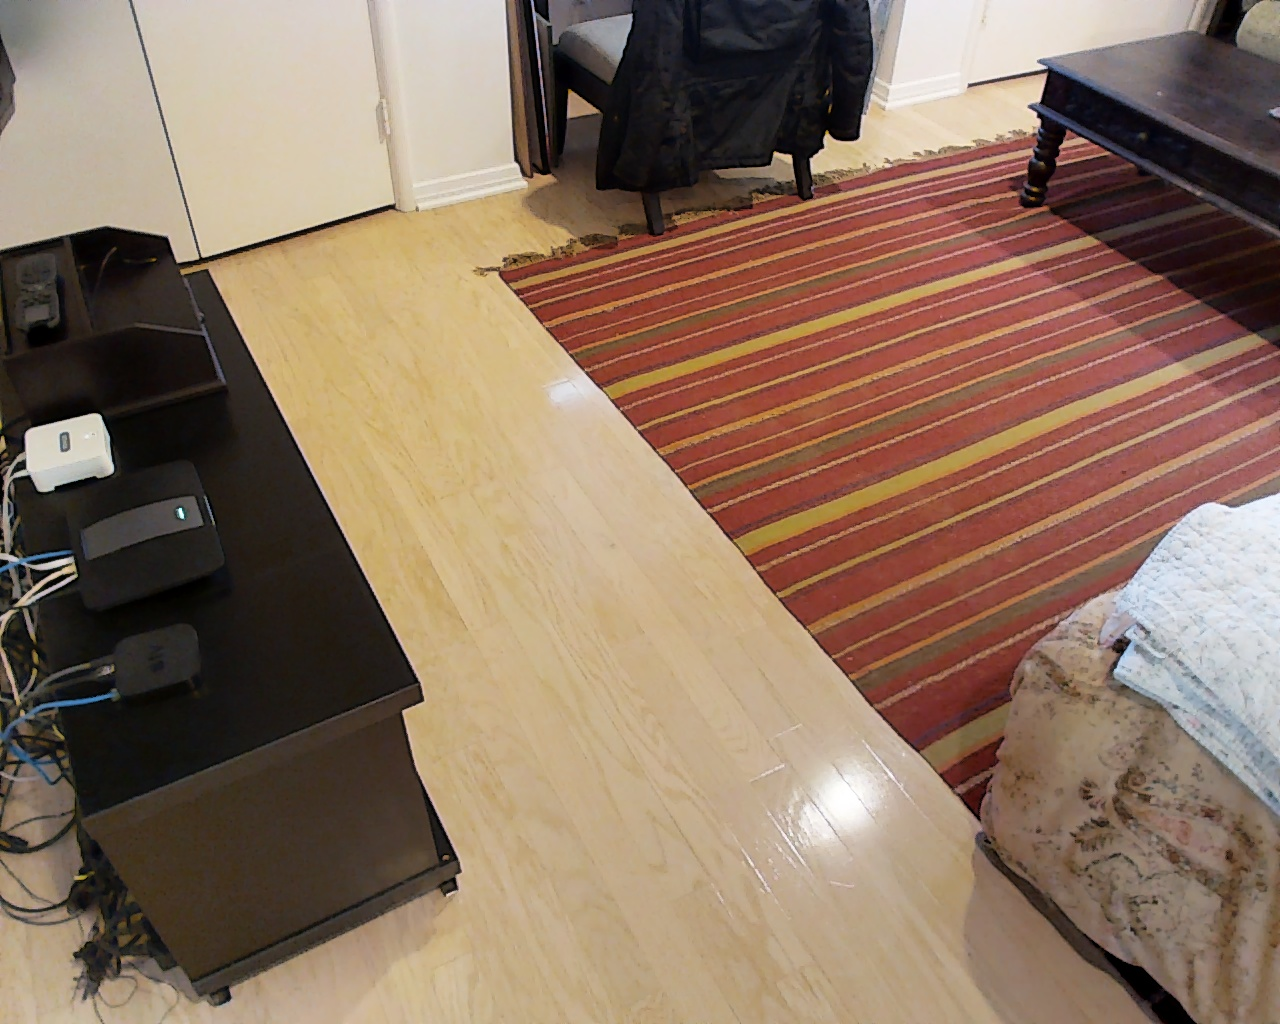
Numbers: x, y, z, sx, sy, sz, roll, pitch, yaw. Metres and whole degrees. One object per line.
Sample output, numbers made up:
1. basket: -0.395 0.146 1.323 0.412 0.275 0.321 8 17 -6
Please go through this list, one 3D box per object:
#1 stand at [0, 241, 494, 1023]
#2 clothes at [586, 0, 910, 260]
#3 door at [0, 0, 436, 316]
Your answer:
1. stand: -0.770 0.140 1.820 0.610 0.580 1.210 -18 46 -19
2. clothes: 0.300 -1.270 3.160 0.840 0.840 0.340 -15 45 -16
3. door: -1.250 -1.510 2.490 1.340 2.070 0.120 -19 47 -20
